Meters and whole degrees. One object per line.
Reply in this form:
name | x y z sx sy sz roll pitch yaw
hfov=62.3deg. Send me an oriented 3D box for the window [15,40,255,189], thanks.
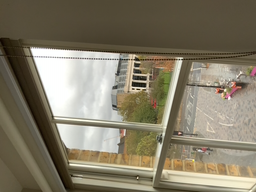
window | 0.230 0.210 1.160 1.030 1.350 0.050 92 -176 -45
